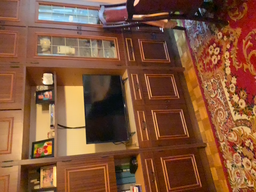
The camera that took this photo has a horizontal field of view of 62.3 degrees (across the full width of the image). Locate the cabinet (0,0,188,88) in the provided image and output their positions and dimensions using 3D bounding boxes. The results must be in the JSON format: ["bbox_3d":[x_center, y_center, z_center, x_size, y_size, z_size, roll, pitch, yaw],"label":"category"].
[{"bbox_3d":[-0.520,-0.610,2.510,0.480,2.290,0.910,122,143,-60],"label":"cabinet"}]

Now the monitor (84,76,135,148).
[{"bbox_3d":[-0.200,0.140,2.180,0.050,0.460,0.730,128,138,-63],"label":"monitor"}]
